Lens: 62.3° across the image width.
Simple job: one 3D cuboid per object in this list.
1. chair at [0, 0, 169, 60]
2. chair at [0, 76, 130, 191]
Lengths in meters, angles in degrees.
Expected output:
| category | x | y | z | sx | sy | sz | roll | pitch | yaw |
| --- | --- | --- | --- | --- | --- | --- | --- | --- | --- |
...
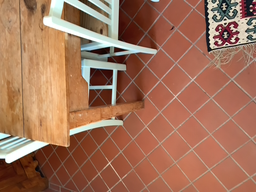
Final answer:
| category | x | y | z | sx | sy | sz | roll | pitch | yaw |
| --- | --- | --- | --- | --- | --- | --- | --- | --- | --- |
| chair | -0.150 | -0.440 | 1.150 | 0.460 | 0.860 | 0.390 | 3 | 95 | 31 |
| chair | -0.390 | 0.120 | 1.300 | 0.440 | 0.850 | 0.460 | 3 | 95 | 31 |
